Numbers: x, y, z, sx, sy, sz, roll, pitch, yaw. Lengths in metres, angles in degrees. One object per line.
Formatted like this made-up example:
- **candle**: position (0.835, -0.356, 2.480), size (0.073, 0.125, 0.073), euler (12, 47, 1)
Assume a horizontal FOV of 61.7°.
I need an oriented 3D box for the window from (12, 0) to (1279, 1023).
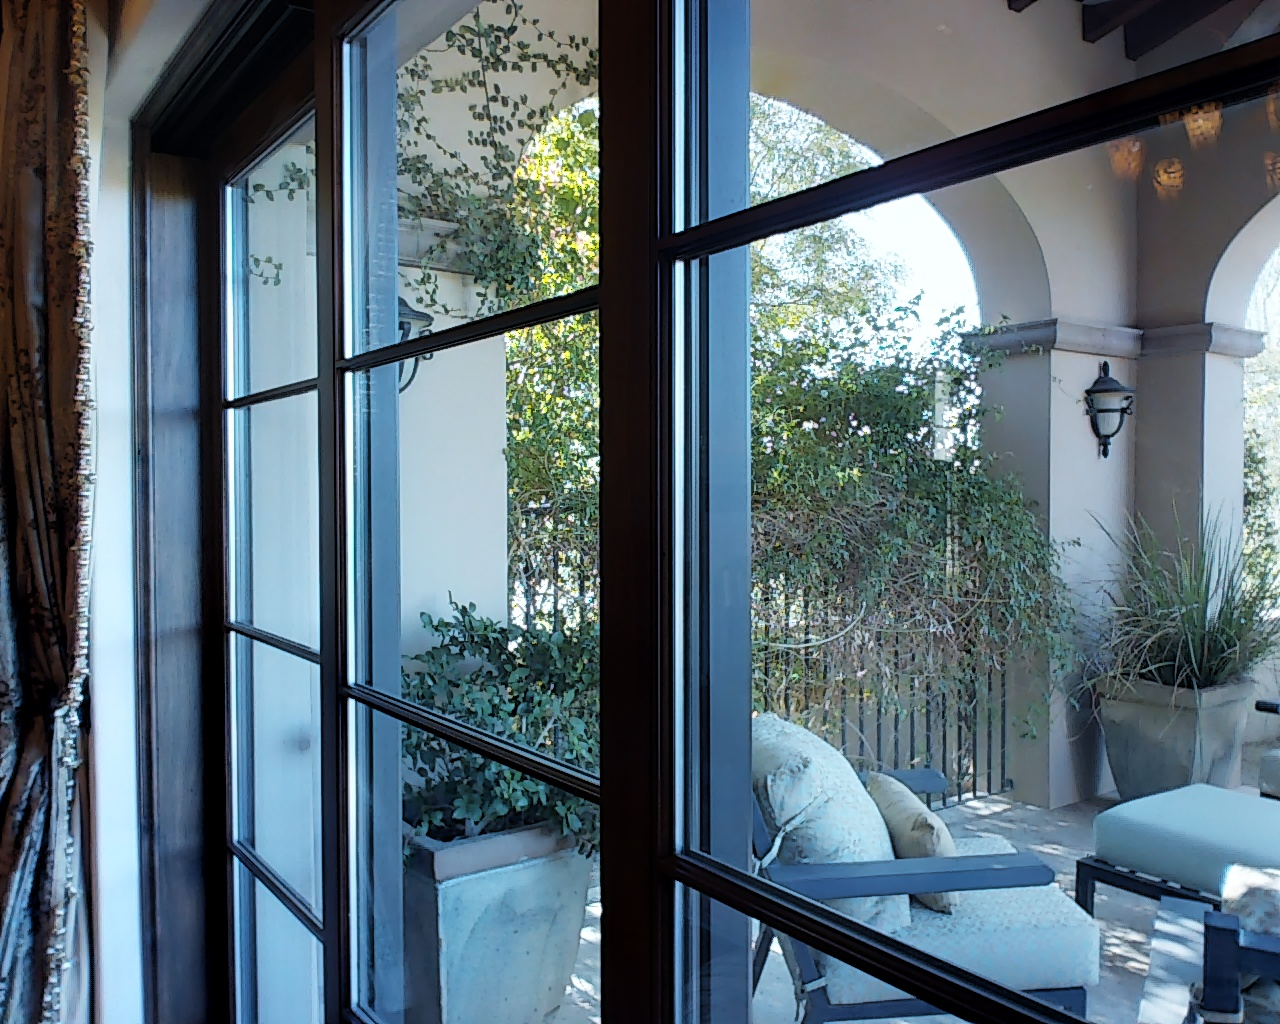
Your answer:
- **window**: position (-0.320, 0.100, 1.380), size (0.520, 3.100, 2.820), euler (-1, 38, -35)
